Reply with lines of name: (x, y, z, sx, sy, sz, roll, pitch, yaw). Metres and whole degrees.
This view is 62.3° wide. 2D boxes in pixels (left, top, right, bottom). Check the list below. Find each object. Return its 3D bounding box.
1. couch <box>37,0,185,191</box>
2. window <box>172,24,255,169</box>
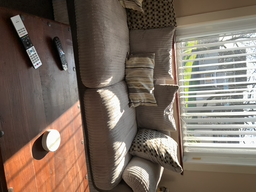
couch: (-0.030, -0.540, 2.040, 1.250, 0.870, 2.940, -29, 114, -69)
window: (1.480, 0.020, 2.470, 0.270, 1.770, 1.630, -24, 110, -70)
